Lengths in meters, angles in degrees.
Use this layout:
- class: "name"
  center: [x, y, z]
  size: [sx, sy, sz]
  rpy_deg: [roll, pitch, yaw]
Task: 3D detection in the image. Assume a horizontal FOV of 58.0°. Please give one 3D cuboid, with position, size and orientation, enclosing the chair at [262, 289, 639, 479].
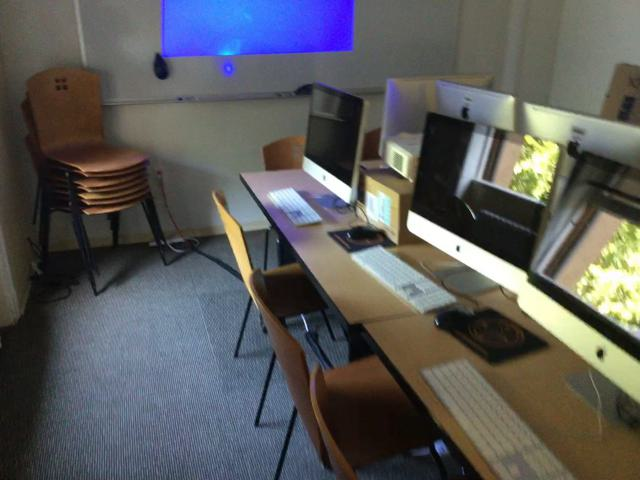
- class: "chair"
  center: [0.240, 0.610, 1.120]
  size: [0.530, 0.780, 0.570]
  rpy_deg: [-9, 24, -18]

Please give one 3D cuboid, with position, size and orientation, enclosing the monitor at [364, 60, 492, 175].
- class: "monitor"
  center: [0.480, -0.560, 2.610]
  size: [0.540, 0.450, 0.150]
  rpy_deg: [-9, 24, -18]

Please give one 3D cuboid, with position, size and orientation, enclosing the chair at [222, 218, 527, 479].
- class: "chair"
  center: [0.110, 0.430, 1.580]
  size: [0.600, 0.790, 0.490]
  rpy_deg: [-9, 24, -18]

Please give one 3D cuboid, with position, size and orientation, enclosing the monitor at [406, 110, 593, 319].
- class: "monitor"
  center: [0.430, -0.100, 1.530]
  size: [0.130, 0.390, 0.540]
  rpy_deg: [-10, 24, -20]
